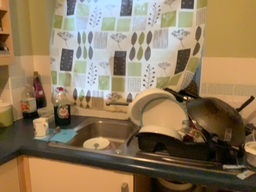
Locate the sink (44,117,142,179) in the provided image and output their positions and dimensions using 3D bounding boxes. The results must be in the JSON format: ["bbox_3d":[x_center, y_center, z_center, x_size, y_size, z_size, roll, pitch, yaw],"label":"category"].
[{"bbox_3d":[-0.170,0.280,1.330,0.410,0.120,0.550,3,12,16],"label":"sink"}]
